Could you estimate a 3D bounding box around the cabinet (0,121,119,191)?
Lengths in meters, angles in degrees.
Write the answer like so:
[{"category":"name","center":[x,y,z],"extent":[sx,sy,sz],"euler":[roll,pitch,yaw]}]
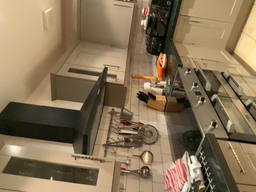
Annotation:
[{"category":"cabinet","center":[-0.500,0.620,1.310],"extent":[0.910,0.800,0.320],"euler":[-86,5,-58]}]
